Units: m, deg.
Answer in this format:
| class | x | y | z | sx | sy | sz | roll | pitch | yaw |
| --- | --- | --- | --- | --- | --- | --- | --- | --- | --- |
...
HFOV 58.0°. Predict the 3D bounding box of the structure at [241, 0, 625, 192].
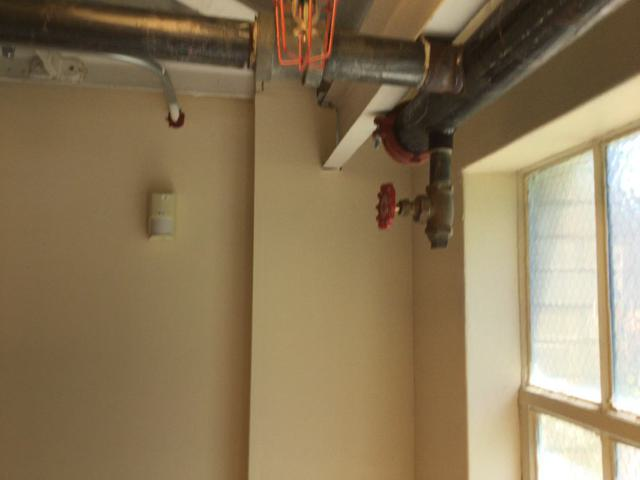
| class | x | y | z | sx | sy | sz | roll | pitch | yaw |
| --- | --- | --- | --- | --- | --- | --- | --- | --- | --- |
| structure | 0.220 | -0.400 | 0.200 | 0.270 | 0.290 | 2.700 | 2 | -6 | -12 |
